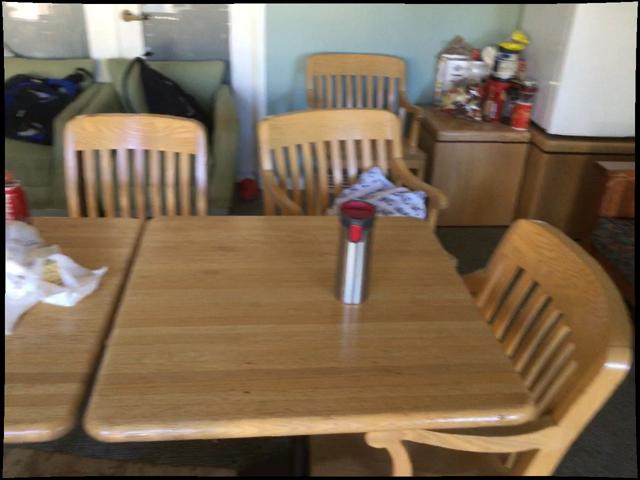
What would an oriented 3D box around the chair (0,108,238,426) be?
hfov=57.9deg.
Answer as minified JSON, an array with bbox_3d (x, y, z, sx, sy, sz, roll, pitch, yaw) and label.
[{"bbox_3d":[-0.579,0.060,1.930,0.559,0.811,0.650,-3,30,-7],"label":"chair"}]

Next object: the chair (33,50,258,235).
[{"bbox_3d":[-0.839,-0.561,3.110,0.949,0.711,0.820,-3,30,-7],"label":"chair"}]

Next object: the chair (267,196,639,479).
[{"bbox_3d":[0.260,0.420,1.330,0.699,0.801,0.730,0,30,-2],"label":"chair"}]

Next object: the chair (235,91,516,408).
[{"bbox_3d":[0.130,-0.020,2.100,0.679,0.801,0.720,-10,32,-18],"label":"chair"}]

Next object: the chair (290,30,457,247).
[{"bbox_3d":[0.220,-0.551,3.040,0.689,0.941,0.650,-3,30,-7],"label":"chair"}]

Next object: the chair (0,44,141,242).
[{"bbox_3d":[-1.459,-0.541,3.040,0.789,0.781,0.820,-3,30,-7],"label":"chair"}]
